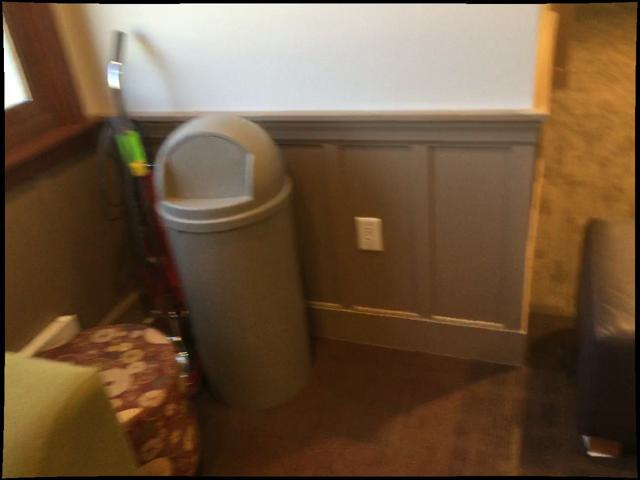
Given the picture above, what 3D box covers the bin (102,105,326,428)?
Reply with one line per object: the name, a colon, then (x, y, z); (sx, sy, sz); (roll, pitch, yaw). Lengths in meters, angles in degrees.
bin: (-0.269, 0.090, 1.800); (0.369, 0.922, 0.370); (5, 33, 21)
